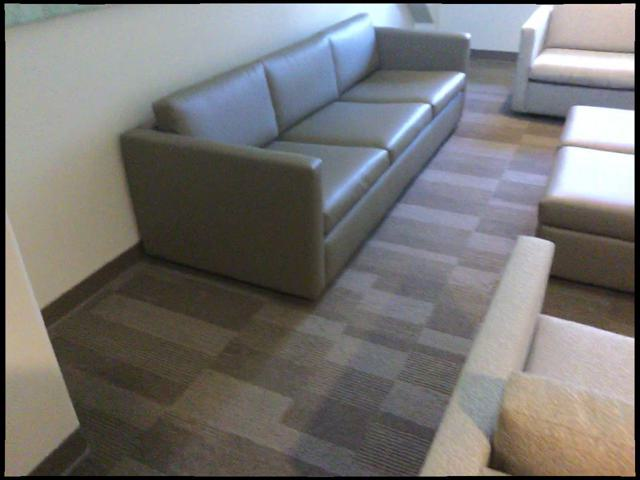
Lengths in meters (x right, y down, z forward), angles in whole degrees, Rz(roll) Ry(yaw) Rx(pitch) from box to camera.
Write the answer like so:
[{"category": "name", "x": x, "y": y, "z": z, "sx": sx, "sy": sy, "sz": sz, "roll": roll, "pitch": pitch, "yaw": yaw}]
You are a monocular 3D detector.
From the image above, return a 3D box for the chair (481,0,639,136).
[{"category": "chair", "x": 1.756, "y": -1.293, "z": 3.960, "sx": 1.008, "sy": 0.721, "sz": 0.950, "roll": 13, "pitch": 35, "yaw": 21}]

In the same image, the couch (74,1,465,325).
[{"category": "couch", "x": 0.000, "y": -0.641, "z": 3.000, "sx": 0.909, "sy": 0.711, "sz": 2.290, "roll": 13, "pitch": 35, "yaw": 21}]
